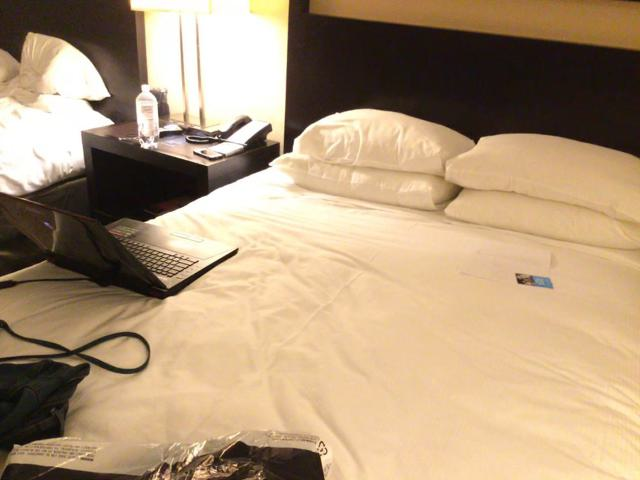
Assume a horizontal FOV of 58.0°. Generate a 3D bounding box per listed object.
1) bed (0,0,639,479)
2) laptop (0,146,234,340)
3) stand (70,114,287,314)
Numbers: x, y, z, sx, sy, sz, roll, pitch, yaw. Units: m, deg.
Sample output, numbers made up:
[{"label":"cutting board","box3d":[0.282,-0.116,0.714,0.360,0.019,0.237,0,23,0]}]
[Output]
[{"label":"bed","box3d":[0.010,0.080,1.350,1.770,1.550,2.130,19,26,27]},{"label":"laptop","box3d":[-0.520,-0.030,1.430,0.420,0.260,0.430,19,26,27]},{"label":"stand","box3d":[-0.660,-0.170,2.720,0.770,0.640,0.570,19,26,27]}]
